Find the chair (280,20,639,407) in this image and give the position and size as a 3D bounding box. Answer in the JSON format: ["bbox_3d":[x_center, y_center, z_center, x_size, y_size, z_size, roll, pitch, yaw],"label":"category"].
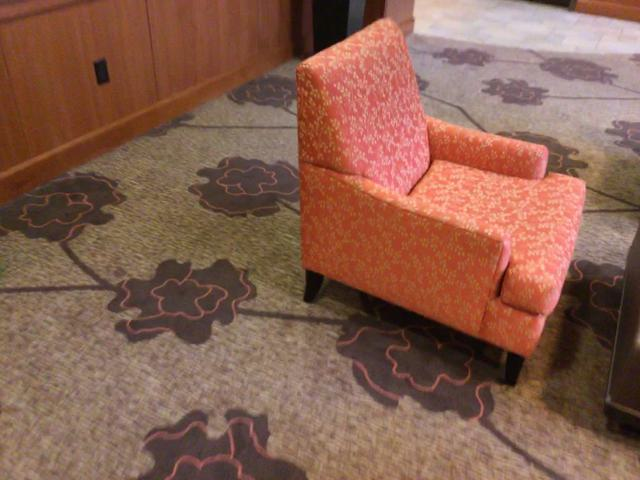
[{"bbox_3d":[0.490,-0.180,2.000,0.900,0.960,0.770,13,33,28],"label":"chair"}]
